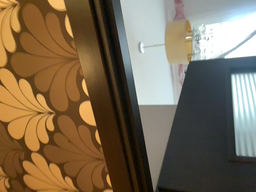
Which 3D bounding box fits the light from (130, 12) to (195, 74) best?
[{"bbox_3d":[0.410,-0.590,2.370,0.590,0.530,0.510,-4,17,17],"label":"light"}]
